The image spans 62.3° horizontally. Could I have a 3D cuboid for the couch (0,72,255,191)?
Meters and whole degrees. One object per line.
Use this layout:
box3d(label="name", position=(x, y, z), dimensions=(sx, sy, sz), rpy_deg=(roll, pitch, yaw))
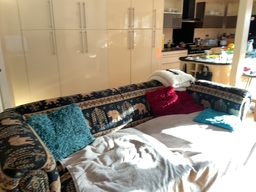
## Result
box3d(label="couch", position=(0.110, 0.380, 2.130), dimensions=(2.470, 0.750, 1.390), rpy_deg=(-13, 21, -35))
